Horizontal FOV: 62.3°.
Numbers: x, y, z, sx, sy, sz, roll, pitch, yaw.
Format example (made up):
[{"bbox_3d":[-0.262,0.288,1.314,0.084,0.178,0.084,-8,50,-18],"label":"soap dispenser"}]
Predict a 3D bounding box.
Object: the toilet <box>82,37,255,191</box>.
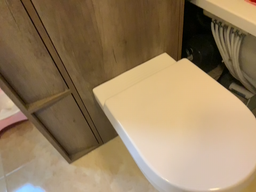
[{"bbox_3d":[0.170,0.170,0.850,0.400,0.480,0.550,-28,51,-14],"label":"toilet"}]
